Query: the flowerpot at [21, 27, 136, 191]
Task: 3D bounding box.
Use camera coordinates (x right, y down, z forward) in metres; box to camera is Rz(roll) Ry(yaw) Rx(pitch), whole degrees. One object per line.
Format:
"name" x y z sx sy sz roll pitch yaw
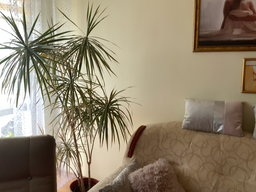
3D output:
"flowerpot" -0.530 0.290 2.070 0.820 1.680 0.890 -4 12 -27

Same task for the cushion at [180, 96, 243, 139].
"cushion" 0.710 0.170 1.830 0.460 0.270 0.180 7 11 25
